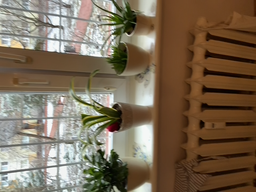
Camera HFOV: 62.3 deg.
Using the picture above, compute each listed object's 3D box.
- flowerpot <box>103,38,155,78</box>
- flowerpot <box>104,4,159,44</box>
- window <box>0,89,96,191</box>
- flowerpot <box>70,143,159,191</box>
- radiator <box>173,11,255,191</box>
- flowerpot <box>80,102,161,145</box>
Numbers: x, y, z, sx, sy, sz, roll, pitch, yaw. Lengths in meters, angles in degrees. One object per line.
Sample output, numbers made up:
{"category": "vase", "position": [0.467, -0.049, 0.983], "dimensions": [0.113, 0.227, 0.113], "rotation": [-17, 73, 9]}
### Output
{"category": "flowerpot", "position": [0.000, -0.180, 1.080], "dimensions": [0.190, 0.200, 0.160], "rotation": [3, 92, 63]}
{"category": "flowerpot", "position": [0.010, -0.350, 1.070], "dimensions": [0.190, 0.210, 0.120], "rotation": [8, 97, 63]}
{"category": "window", "position": [-0.560, 0.390, 0.970], "dimensions": [0.200, 0.790, 0.840], "rotation": [3, 92, 63]}
{"category": "flowerpot", "position": [-0.070, 0.400, 1.050], "dimensions": [0.230, 0.380, 0.250], "rotation": [3, 92, 63]}
{"category": "radiator", "position": [0.660, 0.130, 1.390], "dimensions": [0.200, 0.710, 1.170], "rotation": [7, 96, 63]}
{"category": "flowerpot", "position": [-0.040, 0.120, 1.040], "dimensions": [0.210, 0.340, 0.160], "rotation": [4, 94, 63]}
